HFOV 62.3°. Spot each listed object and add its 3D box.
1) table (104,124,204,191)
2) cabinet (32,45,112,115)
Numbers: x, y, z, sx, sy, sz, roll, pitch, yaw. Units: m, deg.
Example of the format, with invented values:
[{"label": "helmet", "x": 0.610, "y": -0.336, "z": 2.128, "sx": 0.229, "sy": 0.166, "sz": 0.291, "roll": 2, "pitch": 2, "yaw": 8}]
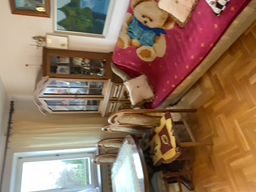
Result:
[{"label": "table", "x": 0.220, "y": 1.240, "z": 3.160, "sx": 1.770, "sy": 0.730, "sz": 1.010, "roll": 120, "pitch": 145, "yaw": -56}, {"label": "cabinet", "x": -1.030, "y": -0.180, "z": 3.810, "sx": 1.480, "sy": 1.130, "sz": 0.460, "roll": 120, "pitch": 145, "yaw": -56}]
